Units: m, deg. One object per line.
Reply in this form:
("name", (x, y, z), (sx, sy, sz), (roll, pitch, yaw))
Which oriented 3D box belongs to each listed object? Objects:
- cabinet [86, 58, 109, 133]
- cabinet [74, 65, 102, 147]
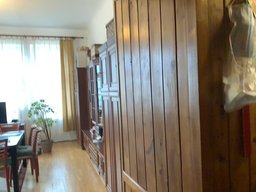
("cabinet", (-0.760, -0.030, 5.160), (0.320, 1.680, 0.800), (-3, 3, -20))
("cabinet", (-1.150, 0.240, 5.950), (0.520, 2.120, 0.950), (-3, 3, -20))
